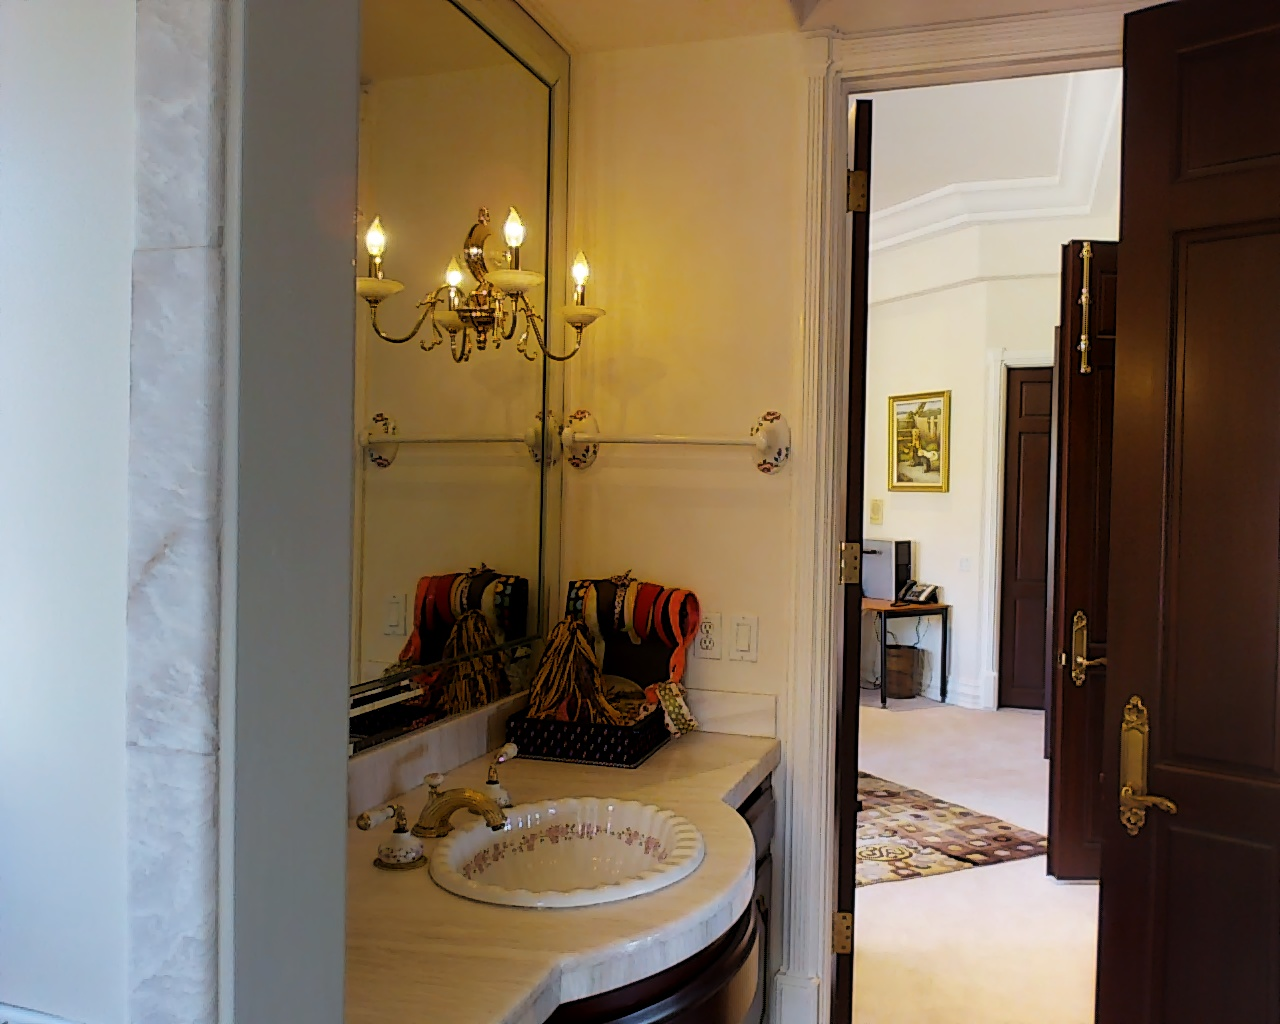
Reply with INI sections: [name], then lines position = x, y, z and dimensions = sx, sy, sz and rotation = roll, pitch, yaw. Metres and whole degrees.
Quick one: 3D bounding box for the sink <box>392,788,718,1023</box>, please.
[sink]
position = -0.110, 0.620, 1.740
dimensions = 0.340, 0.180, 0.520
rotation = 2, 0, 19
